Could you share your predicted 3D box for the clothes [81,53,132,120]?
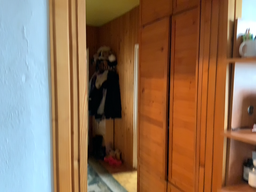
[{"bbox_3d":[-0.440,-0.200,4.000,0.650,1.090,0.950,-2,6,-27],"label":"clothes"}]
